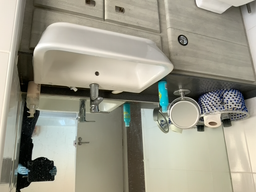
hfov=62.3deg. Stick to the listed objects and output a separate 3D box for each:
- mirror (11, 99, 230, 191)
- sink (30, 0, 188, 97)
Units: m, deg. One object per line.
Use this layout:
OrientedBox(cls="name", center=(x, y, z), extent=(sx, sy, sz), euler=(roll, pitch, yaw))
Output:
OrientedBox(cls="mirror", center=(0.080, 0.740, 1.170), extent=(1.320, 1.390, 0.070), euler=(4, 163, -24))
OrientedBox(cls="sink", center=(-0.130, -0.170, 1.010), extent=(0.600, 0.180, 0.510), euler=(4, 163, -24))
